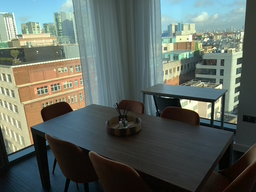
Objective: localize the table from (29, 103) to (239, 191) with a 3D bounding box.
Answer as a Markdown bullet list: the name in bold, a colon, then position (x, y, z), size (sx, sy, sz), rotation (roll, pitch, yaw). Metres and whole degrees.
- **table**: position (-0.040, 0.690, 2.090), size (1.810, 0.780, 0.870), rotation (9, 20, 38)

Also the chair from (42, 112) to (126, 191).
- **chair**: position (-0.380, 0.680, 2.010), size (0.460, 0.870, 0.520), rotation (9, 20, 38)

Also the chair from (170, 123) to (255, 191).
- **chair**: position (0.680, 0.740, 1.560), size (0.580, 0.870, 0.440), rotation (10, 21, 39)

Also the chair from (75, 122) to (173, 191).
- **chair**: position (0.010, 0.750, 1.660), size (0.470, 0.870, 0.550), rotation (9, 20, 38)

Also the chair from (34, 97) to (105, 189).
- **chair**: position (-0.700, 0.530, 2.620), size (0.560, 0.870, 0.510), rotation (9, 20, 37)
